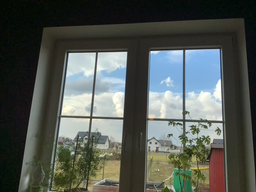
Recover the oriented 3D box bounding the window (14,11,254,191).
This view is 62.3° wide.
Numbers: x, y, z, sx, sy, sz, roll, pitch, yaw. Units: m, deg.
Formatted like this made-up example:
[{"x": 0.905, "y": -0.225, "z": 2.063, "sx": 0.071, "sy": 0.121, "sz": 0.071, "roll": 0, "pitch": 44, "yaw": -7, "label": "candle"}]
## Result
[{"x": 0.020, "y": 0.160, "z": 1.520, "sx": 1.490, "sy": 1.500, "sz": 0.230, "roll": 1, "pitch": -13, "yaw": 10, "label": "window"}]
